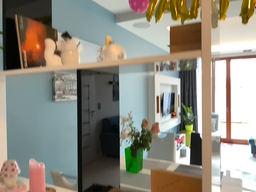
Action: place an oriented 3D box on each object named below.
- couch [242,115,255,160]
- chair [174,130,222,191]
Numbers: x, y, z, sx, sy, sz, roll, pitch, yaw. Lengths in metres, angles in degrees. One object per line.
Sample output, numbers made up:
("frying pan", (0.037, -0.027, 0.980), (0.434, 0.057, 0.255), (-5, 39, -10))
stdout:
("couch", (3.350, 0.990, 5.220), (0.940, 0.940, 0.940), (0, 1, 28))
("chair", (0.900, 1.020, 2.680), (0.470, 1.040, 0.610), (0, 1, 28))
